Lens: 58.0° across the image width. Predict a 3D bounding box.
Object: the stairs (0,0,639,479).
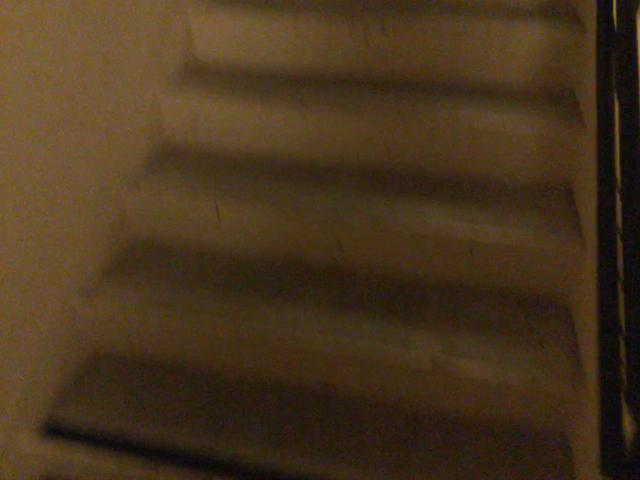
[{"bbox_3d":[0.090,-0.470,1.700,1.310,1.150,2.160,4,40,13],"label":"stairs"}]
